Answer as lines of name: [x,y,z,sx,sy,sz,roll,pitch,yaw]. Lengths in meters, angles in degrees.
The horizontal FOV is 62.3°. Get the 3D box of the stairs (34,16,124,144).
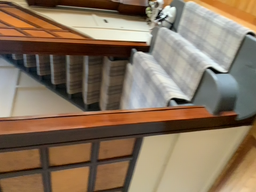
stairs: [-0.680,-0.360,2.610,0.800,0.310,1.790,-38,37,9]
